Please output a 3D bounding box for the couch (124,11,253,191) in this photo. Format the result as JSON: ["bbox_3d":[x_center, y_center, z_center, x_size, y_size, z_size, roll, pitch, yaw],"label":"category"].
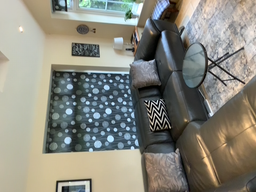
[{"bbox_3d":[0.560,0.280,2.880,1.070,0.750,2.980,110,157,-54],"label":"couch"}]
